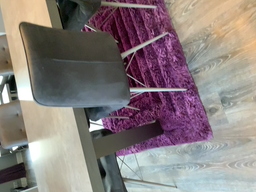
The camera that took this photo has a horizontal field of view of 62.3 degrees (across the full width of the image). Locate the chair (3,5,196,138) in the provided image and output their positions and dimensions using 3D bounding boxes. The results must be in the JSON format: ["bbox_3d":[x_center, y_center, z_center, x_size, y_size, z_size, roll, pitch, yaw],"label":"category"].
[{"bbox_3d":[-0.140,-0.120,1.230,0.490,0.910,0.420,-33,71,49],"label":"chair"}]

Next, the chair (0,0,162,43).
[{"bbox_3d":[-0.320,-0.690,1.350,0.550,0.890,0.420,-33,71,49],"label":"chair"}]

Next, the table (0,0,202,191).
[{"bbox_3d":[-0.390,-0.320,1.640,1.030,0.750,2.030,-26,77,50],"label":"table"}]

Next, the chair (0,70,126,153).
[{"bbox_3d":[-0.590,0.110,1.830,0.530,0.920,0.440,-31,73,49],"label":"chair"}]
